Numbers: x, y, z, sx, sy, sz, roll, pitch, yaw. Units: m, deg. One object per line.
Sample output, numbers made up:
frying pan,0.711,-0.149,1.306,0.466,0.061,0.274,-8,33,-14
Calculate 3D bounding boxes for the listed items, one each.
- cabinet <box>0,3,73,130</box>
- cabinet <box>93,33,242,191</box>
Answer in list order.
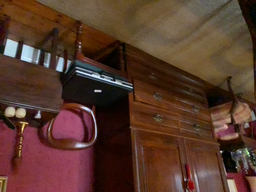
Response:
cabinet,-1.010,-0.250,1.440,1.130,0.730,0.390,16,149,-35
cabinet,0.400,0.650,1.940,1.320,2.080,0.540,16,149,-35
